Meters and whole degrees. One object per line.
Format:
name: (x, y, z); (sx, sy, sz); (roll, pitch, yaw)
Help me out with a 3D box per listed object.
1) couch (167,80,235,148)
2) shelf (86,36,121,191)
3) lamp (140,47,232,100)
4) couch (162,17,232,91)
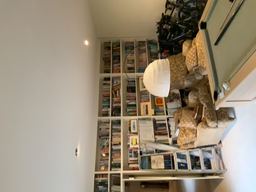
couch: (1.290, 0.370, 4.050); (1.080, 0.820, 0.820); (89, 180, -52)
shelf: (-0.510, 0.380, 4.960); (0.310, 0.660, 4.350); (89, 180, -63)
lamp: (0.970, -0.390, 3.940); (0.740, 1.450, 0.700); (89, 180, -70)
couch: (1.260, -0.740, 4.330); (1.630, 0.830, 0.860); (89, 180, -77)
